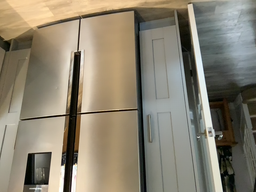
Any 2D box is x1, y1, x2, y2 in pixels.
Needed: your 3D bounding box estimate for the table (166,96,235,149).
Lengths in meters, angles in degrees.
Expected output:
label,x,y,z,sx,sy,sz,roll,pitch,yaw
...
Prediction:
label,x,y,z,sx,sy,sz,roll,pitch,yaw
table,1.230,0.490,3.760,1.020,0.810,0.330,-7,159,15
